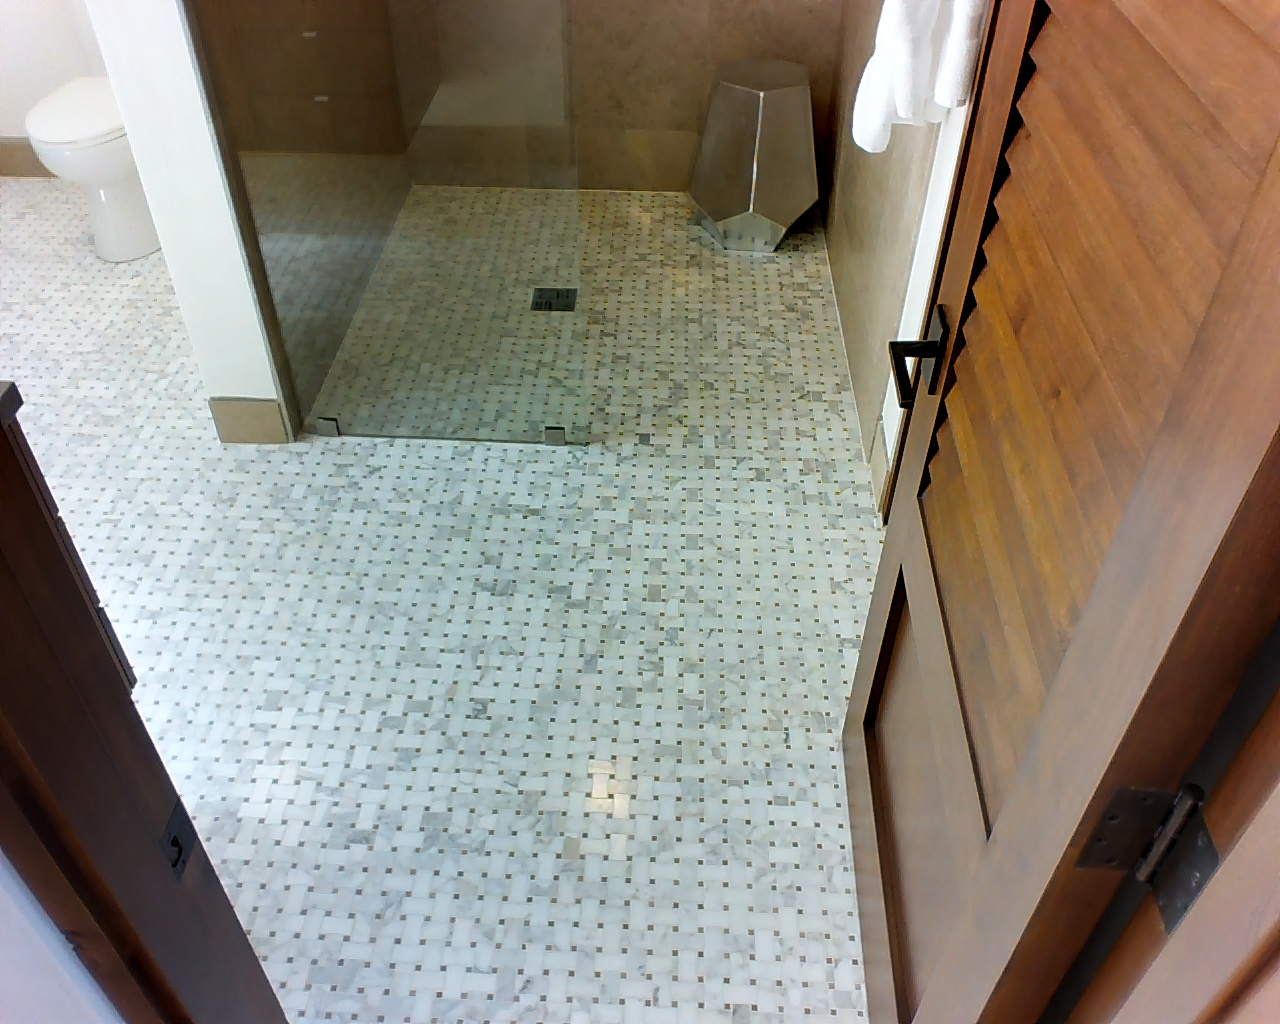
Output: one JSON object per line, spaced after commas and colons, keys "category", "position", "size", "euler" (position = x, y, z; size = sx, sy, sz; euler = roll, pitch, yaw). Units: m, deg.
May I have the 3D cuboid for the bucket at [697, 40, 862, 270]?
{"category": "bucket", "position": [0.420, -1.150, 3.440], "size": [0.450, 0.530, 0.530], "euler": [2, 41, 2]}

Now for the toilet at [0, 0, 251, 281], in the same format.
{"category": "toilet", "position": [-1.650, -1.240, 3.390], "size": [0.440, 0.730, 0.710], "euler": [2, 41, 2]}
